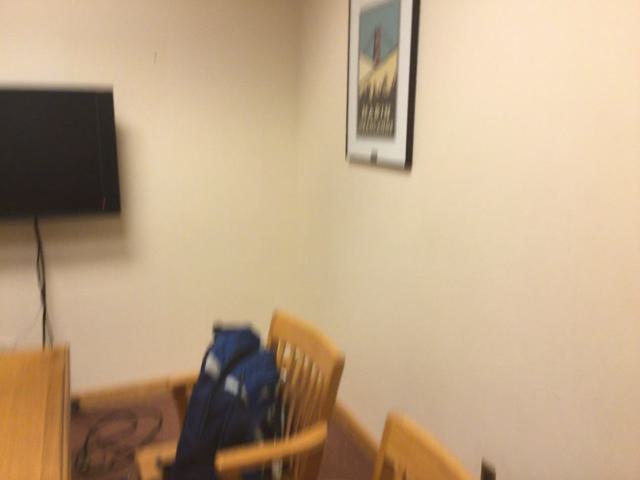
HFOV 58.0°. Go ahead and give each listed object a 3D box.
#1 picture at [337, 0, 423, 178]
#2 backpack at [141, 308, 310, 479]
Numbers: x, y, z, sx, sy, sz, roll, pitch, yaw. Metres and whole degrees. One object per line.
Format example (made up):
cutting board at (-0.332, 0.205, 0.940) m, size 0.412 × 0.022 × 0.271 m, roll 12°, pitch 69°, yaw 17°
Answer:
picture at (0.220, -0.660, 2.360) m, size 0.030 × 0.750 × 0.650 m, roll -4°, pitch 12°, yaw -22°
backpack at (-0.300, 0.510, 1.780) m, size 0.420 × 0.460 × 0.390 m, roll -4°, pitch 12°, yaw -22°
